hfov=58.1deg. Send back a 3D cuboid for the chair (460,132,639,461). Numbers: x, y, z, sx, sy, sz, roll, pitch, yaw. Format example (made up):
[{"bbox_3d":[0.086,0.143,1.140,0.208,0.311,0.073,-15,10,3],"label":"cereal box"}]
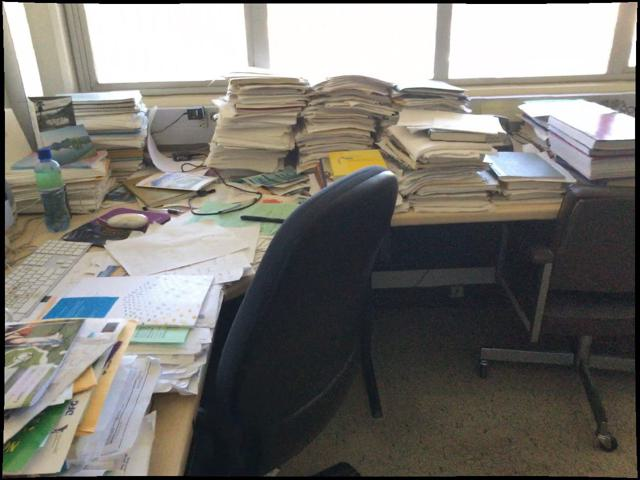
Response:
[{"bbox_3d":[0.888,0.150,1.880,0.658,0.842,0.640,-2,25,1],"label":"chair"}]

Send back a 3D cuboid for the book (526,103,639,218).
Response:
[{"bbox_3d":[0.868,-0.251,1.700,0.349,0.210,0.410,-3,25,-1],"label":"book"}]

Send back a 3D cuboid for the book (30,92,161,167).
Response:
[{"bbox_3d":[-0.738,-0.381,1.950,0.309,0.160,0.330,-3,25,-1],"label":"book"}]
